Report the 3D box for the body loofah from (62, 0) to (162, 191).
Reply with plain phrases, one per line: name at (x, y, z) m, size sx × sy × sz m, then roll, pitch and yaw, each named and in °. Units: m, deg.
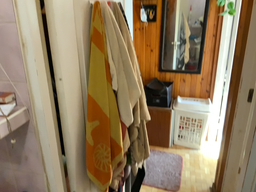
body loofah at (-0.020, 0.100, 1.150) m, size 0.180 × 1.160 × 0.560 m, roll 10°, pitch 24°, yaw 26°
